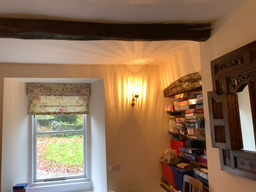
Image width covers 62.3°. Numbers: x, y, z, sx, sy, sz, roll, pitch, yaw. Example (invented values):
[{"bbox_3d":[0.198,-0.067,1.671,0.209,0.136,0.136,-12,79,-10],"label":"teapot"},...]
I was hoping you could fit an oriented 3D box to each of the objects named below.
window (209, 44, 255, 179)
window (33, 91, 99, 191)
[{"bbox_3d":[0.830,0.100,1.370,0.060,0.850,0.790,-1,-5,-15],"label":"window"},{"bbox_3d":[-0.940,0.690,3.270,0.940,1.530,0.100,-1,-5,-14],"label":"window"}]
